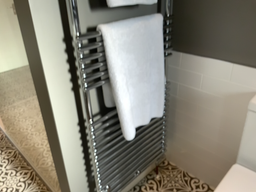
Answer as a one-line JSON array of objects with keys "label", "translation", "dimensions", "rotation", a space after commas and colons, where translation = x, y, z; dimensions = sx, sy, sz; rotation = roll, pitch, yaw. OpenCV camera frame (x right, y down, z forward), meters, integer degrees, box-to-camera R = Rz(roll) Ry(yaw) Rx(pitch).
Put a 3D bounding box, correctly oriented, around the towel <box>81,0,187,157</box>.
[{"label": "towel", "translation": [0.060, -0.240, 1.000], "dimensions": [0.170, 0.950, 0.490], "rotation": [23, 37, 38]}]
